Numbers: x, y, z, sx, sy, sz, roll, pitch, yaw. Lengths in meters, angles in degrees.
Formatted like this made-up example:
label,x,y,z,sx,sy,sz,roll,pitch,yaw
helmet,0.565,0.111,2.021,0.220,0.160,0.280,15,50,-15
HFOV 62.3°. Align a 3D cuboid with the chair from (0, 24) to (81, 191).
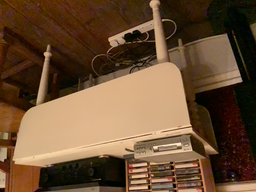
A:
label,x,y,z,sx,sy,sz,roll,pitch,yaw
chair,-0.810,0.390,1.330,0.670,1.330,0.670,-16,151,25
